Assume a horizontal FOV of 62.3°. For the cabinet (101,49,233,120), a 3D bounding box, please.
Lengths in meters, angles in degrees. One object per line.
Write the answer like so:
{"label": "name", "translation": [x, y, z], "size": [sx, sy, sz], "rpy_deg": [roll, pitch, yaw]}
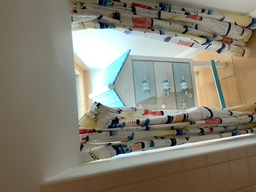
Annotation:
{"label": "cabinet", "translation": [0.300, -0.070, 1.470], "size": [0.200, 0.930, 0.390], "rpy_deg": [-19, 75, 62]}
